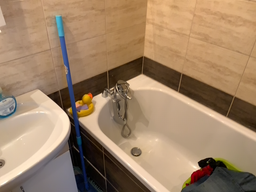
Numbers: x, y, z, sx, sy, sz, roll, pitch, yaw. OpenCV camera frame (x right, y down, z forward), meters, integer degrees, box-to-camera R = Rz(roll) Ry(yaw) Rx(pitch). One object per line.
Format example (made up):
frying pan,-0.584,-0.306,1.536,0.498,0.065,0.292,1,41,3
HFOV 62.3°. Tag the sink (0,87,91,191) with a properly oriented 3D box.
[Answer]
sink,-0.560,0.260,0.890,0.640,0.210,0.460,-28,46,-34
